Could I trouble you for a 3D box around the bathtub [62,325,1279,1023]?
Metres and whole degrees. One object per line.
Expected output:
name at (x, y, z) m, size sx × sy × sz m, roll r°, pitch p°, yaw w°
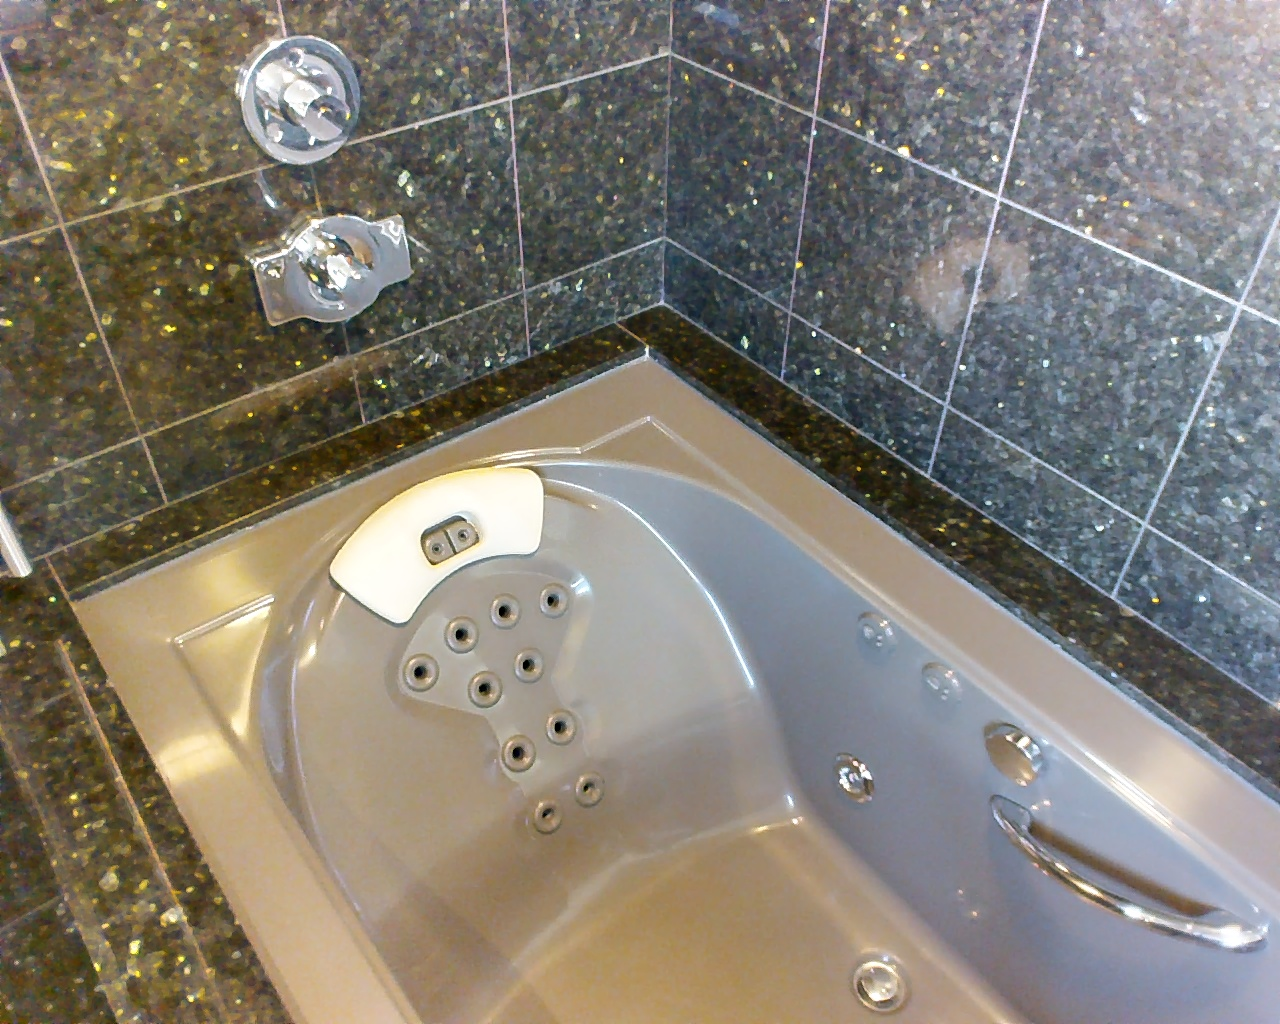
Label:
bathtub at (0.240, 0.610, 1.300) m, size 1.080 × 0.610 × 1.830 m, roll -27°, pitch 49°, yaw -27°
